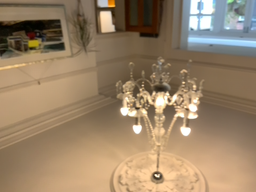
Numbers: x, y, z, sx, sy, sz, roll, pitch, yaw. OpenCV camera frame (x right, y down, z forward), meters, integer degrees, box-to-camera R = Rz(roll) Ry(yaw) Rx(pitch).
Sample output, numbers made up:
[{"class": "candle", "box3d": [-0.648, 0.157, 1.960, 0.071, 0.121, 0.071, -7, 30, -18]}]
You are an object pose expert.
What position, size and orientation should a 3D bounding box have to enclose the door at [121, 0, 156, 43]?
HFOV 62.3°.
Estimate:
[{"class": "door", "box3d": [0.170, -2.070, 3.660, 0.180, 2.180, 0.700, -19, -153, -40]}]
